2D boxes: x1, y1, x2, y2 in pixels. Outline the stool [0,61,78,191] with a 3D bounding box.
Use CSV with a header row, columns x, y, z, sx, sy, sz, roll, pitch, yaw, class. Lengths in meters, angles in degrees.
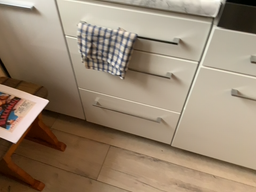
x,y,z,sx,sy,sz,roll,pitch,yaw,class
-0.510,0.160,1.030,0.300,0.450,0.400,17,51,12,stool
